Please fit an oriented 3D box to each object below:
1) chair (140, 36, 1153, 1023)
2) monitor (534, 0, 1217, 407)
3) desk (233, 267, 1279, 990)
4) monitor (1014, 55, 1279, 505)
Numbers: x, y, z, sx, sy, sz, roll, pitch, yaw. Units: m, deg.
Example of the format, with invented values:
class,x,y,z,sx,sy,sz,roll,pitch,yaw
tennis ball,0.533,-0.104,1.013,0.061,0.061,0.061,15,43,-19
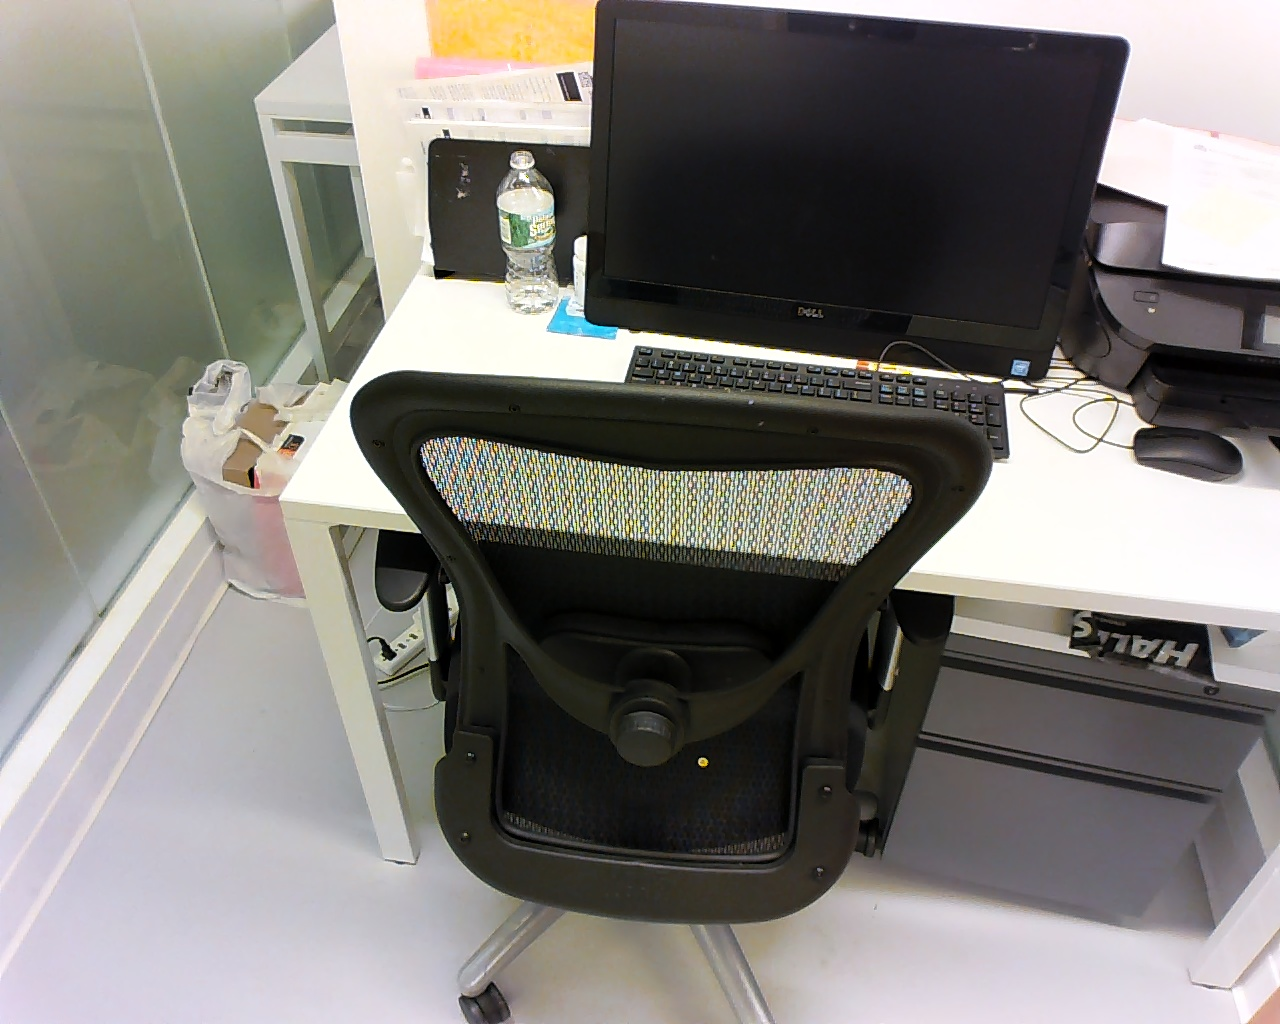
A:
class,x,y,z,sx,sy,sz,roll,pitch,yaw
chair,0.040,0.100,1.330,0.660,1.040,0.790,6,42,6
monitor,0.230,-0.370,1.240,0.650,0.390,0.210,6,42,6
desk,0.190,0.160,1.490,1.170,0.730,0.520,6,42,6
monitor,0.670,-0.310,1.290,0.300,0.240,0.630,6,42,6
